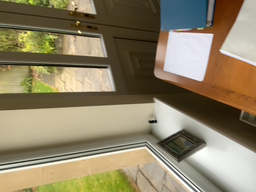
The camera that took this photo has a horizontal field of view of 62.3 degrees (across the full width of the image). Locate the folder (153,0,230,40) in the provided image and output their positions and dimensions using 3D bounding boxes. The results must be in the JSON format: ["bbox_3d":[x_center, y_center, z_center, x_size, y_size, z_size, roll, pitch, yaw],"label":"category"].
[{"bbox_3d":[0.300,-0.470,1.030,0.360,0.130,0.360,29,116,58],"label":"folder"}]
